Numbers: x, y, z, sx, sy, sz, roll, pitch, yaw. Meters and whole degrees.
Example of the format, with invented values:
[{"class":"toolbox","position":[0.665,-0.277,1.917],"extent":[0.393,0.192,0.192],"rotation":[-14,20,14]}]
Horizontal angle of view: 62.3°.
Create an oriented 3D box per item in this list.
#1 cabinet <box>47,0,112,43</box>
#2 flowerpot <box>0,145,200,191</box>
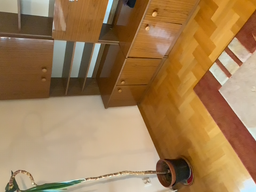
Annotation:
[{"class":"cabinet","position":[-0.420,-0.970,1.900],"extent":[0.900,0.480,0.350],"rotation":[-62,40,45]},{"class":"flowerpot","position":[-0.240,0.850,1.940],"extent":[0.340,1.920,0.400],"rotation":[-56,45,49]}]
